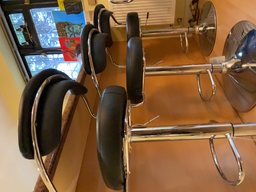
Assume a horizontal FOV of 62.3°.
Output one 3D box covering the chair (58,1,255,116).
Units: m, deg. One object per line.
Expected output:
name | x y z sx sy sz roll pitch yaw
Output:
chair | 0.170 -0.200 1.230 0.450 0.940 0.410 84 -175 -50
